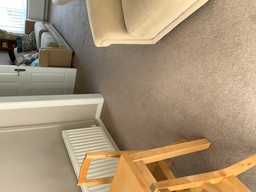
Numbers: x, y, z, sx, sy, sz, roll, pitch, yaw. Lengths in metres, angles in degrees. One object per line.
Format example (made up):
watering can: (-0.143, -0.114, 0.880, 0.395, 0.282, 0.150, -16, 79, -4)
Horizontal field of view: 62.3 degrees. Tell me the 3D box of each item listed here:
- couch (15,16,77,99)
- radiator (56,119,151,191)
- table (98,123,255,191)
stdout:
couch: (-1.950, -0.950, 4.740, 2.220, 0.810, 1.010, 45, 129, 46)
radiator: (-0.340, 0.690, 2.410, 1.200, 0.640, 0.100, 47, 131, 45)
table: (0.350, 0.900, 1.310, 0.960, 0.770, 0.990, 46, 130, 46)
